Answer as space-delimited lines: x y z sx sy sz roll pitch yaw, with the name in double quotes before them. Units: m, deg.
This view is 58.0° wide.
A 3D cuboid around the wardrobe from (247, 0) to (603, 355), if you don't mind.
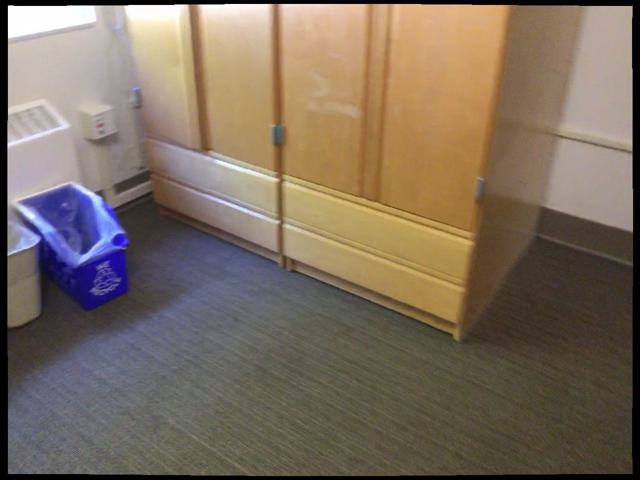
"wardrobe" 0.399 -0.751 2.090 0.889 1.913 0.960 23 38 31
